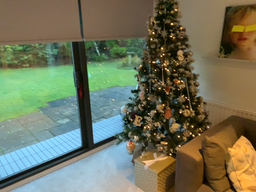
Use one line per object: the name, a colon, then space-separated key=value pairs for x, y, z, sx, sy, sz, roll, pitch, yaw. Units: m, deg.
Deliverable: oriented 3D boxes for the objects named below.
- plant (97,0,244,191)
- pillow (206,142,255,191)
plant: x=0.470 y=-0.180 z=2.550 sx=1.150 sy=1.980 sz=1.080 roll=-16 pitch=22 yaw=-39
pillow: x=0.960 y=0.570 z=1.720 sx=0.460 sy=0.420 sz=0.200 roll=-15 pitch=61 yaw=-39
